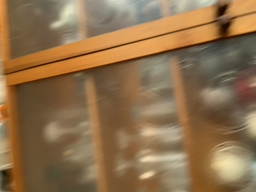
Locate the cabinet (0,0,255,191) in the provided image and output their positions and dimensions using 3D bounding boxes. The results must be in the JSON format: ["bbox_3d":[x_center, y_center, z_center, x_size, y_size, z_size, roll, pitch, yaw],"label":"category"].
[{"bbox_3d":[0.040,-0.070,0.750,0.320,0.950,1.340,10,-109,-70],"label":"cabinet"}]
